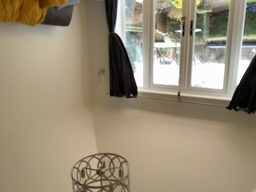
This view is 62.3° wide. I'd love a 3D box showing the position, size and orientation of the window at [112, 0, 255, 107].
[{"bbox_3d":[0.970,-1.120,3.540,2.710,2.360,0.220,6,-164,27],"label":"window"}]
